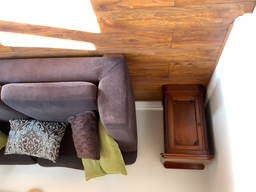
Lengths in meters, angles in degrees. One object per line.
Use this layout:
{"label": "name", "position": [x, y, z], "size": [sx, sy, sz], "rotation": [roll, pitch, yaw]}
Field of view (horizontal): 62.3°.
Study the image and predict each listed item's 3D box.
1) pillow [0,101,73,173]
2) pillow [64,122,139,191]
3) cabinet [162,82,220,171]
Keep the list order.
{"label": "pillow", "position": [-0.890, 0.390, 2.030], "size": [0.520, 0.390, 0.280], "rotation": [36, 163, 17]}
{"label": "pillow", "position": [-0.250, 0.500, 1.840], "size": [0.220, 0.440, 0.560], "rotation": [43, 158, -27]}
{"label": "cabinet", "position": [0.560, 0.290, 2.040], "size": [0.440, 0.750, 0.380], "rotation": [0, 154, 8]}
